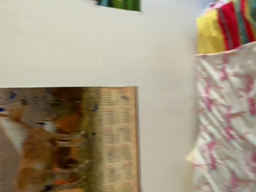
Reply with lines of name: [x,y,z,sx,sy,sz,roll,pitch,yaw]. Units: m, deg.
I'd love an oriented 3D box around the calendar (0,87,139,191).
calendar: [-0.420,0.300,1.080,0.040,1.010,0.690,178,91,-69]
